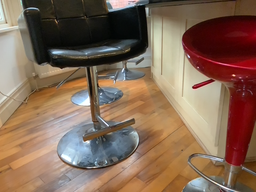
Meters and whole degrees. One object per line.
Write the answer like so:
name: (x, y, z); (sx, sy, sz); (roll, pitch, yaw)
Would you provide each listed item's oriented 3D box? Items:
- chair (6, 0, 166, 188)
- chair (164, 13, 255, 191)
chair: (-0.240, -0.150, 1.280); (0.630, 0.930, 0.650); (-16, 26, -30)
chair: (0.400, 0.110, 0.790); (0.410, 0.760, 0.440); (-5, 22, -5)
